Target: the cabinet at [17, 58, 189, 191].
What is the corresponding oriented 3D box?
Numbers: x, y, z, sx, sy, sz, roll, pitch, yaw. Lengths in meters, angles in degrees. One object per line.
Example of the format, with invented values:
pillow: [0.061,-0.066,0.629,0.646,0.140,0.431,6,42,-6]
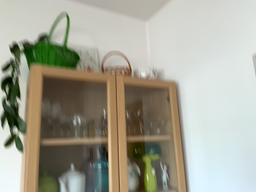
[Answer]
cabinet: [-0.080,0.880,0.990,0.820,2.020,0.290,4,-15,-29]
